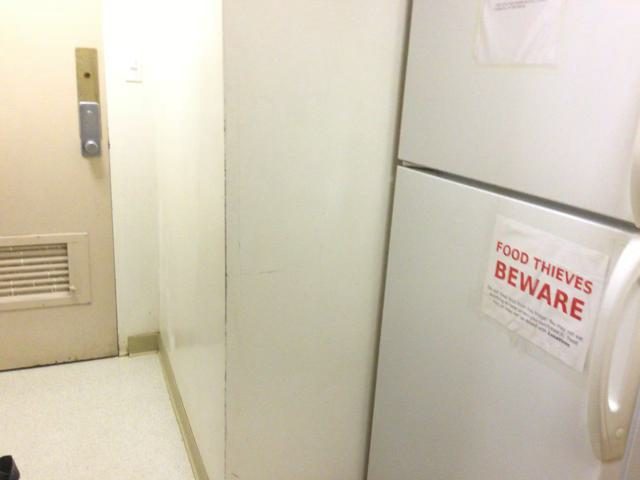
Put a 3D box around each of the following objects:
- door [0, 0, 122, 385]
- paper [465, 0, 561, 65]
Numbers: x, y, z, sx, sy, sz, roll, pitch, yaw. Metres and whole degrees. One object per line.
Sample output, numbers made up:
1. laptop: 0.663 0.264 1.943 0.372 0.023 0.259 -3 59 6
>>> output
1. door: -1.320 -0.280 2.380 0.880 1.810 0.200 -3 15 -23
2. paper: 0.370 -0.460 1.110 0.020 0.230 0.230 -3 15 -23
